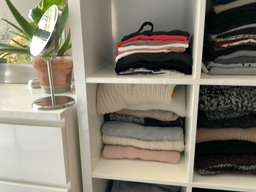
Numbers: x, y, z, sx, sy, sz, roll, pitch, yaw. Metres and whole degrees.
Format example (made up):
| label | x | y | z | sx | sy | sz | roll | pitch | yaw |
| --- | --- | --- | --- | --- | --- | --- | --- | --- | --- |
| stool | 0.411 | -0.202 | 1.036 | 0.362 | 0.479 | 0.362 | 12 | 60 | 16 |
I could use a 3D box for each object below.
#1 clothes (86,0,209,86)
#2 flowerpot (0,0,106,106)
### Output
| label | x | y | z | sx | sy | sz | roll | pitch | yaw |
| --- | --- | --- | --- | --- | --- | --- | --- | --- | --- |
| clothes | 0.080 | -0.210 | 0.820 | 0.350 | 0.250 | 0.390 | 2 | 16 | 10 |
| flowerpot | -0.320 | -0.360 | 0.870 | 0.360 | 0.720 | 0.310 | 2 | 16 | 10 |
